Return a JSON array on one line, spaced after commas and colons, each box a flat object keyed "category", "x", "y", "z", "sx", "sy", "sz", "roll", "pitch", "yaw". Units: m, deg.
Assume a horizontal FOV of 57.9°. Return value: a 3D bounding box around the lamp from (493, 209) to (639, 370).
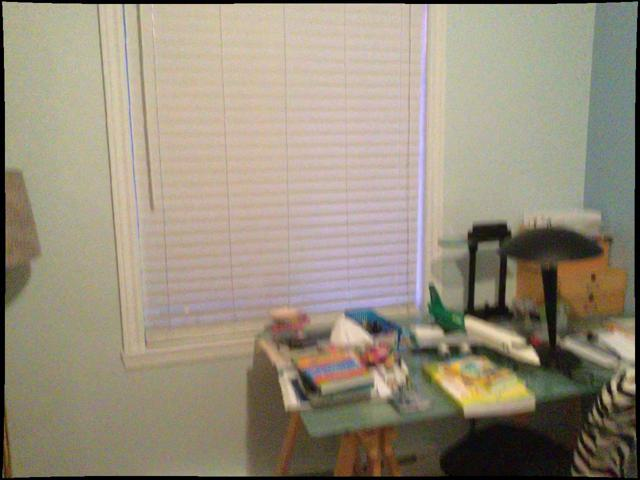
[{"category": "lamp", "x": 0.829, "y": 0.150, "z": 1.970, "sx": 0.330, "sy": 0.450, "sz": 0.290, "roll": -5, "pitch": 13, "yaw": -17}]
